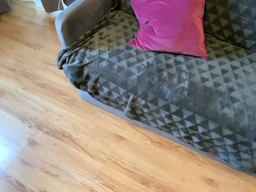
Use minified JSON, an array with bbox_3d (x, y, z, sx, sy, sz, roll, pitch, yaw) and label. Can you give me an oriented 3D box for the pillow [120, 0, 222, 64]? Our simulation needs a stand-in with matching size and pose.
[{"bbox_3d":[0.220,-0.390,1.100,0.360,0.340,0.200,28,63,-28],"label":"pillow"}]
